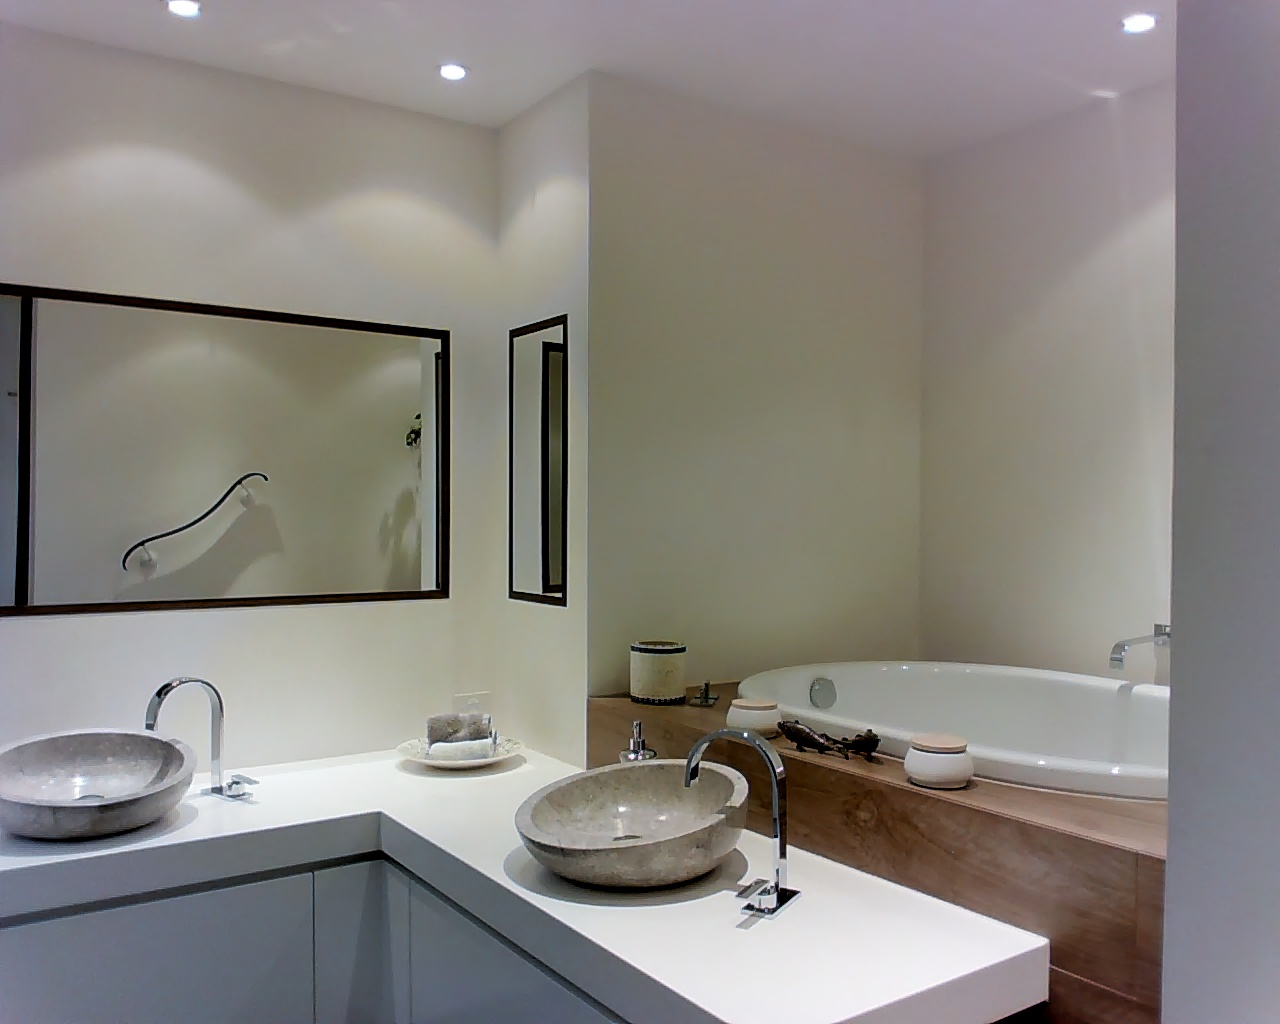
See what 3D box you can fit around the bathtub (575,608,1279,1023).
[{"bbox_3d":[0.930,0.640,2.210,1.260,0.660,2.040,-1,0,-34],"label":"bathtub"}]
